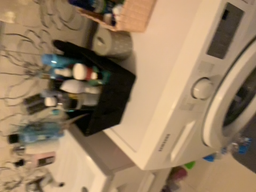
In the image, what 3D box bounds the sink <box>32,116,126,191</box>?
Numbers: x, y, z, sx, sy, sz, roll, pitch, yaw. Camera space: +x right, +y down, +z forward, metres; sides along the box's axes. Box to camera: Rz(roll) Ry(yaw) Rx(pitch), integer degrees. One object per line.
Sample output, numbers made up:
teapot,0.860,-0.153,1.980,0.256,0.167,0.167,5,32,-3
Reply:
sink,-0.290,0.470,1.040,0.400,0.160,0.610,35,114,38
